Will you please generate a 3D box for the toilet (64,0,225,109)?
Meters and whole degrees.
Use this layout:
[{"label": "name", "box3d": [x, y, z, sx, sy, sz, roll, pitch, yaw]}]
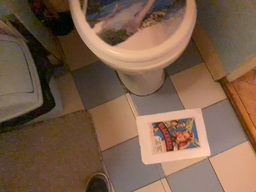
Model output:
[{"label": "toilet", "box3d": [0.010, -0.260, 0.820, 0.370, 0.430, 0.460, -22, 79, -3]}]
